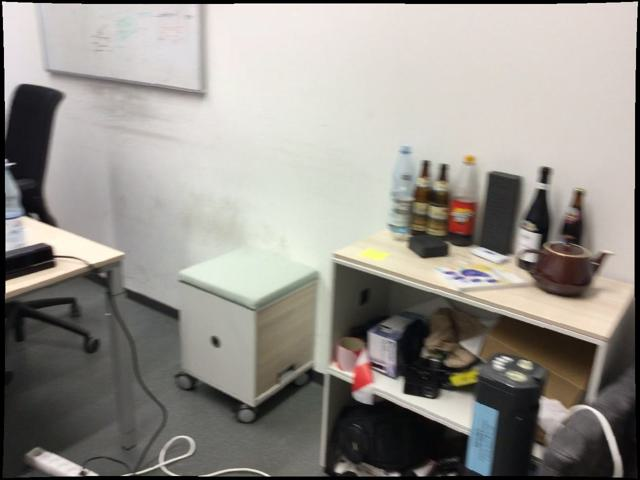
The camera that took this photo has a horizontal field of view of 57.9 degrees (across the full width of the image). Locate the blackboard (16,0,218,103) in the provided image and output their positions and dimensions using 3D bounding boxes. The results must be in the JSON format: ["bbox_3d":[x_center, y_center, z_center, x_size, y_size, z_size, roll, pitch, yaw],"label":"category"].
[{"bbox_3d":[-0.989,-1.181,2.630,1.299,0.951,0.130,16,25,33],"label":"blackboard"}]
